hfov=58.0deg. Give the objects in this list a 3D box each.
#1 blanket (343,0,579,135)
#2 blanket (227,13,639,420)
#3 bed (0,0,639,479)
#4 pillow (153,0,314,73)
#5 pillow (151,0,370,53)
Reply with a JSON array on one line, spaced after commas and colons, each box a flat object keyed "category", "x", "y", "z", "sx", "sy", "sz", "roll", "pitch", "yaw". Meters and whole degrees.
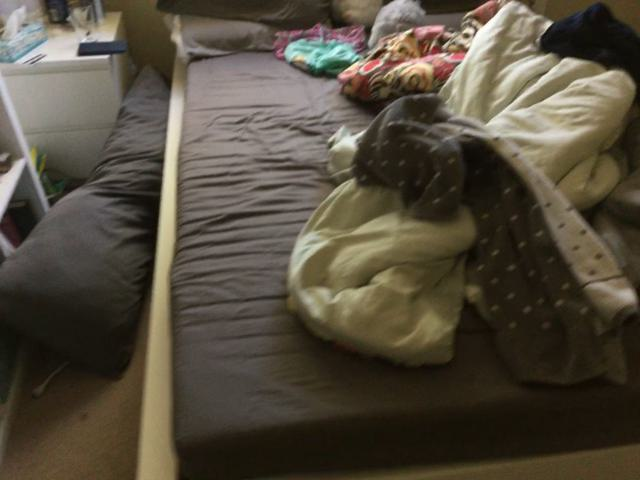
[{"category": "blanket", "x": 0.390, "y": -0.600, "z": 1.790, "sx": 0.560, "sy": 0.310, "sz": 0.440, "roll": -7, "pitch": 40, "yaw": -6}, {"category": "blanket", "x": 0.470, "y": -0.170, "z": 1.300, "sx": 1.280, "sy": 0.300, "sz": 0.900, "roll": -7, "pitch": 40, "yaw": -6}, {"category": "bed", "x": 0.360, "y": -0.360, "z": 1.680, "sx": 1.810, "sy": 1.050, "sz": 2.140, "roll": -7, "pitch": 40, "yaw": -6}, {"category": "pillow", "x": -0.330, "y": -0.850, "z": 2.230, "sx": 0.550, "sy": 0.190, "sz": 0.440, "roll": -7, "pitch": 40, "yaw": -6}, {"category": "pillow", "x": -0.230, "y": -1.010, "z": 2.170, "sx": 0.790, "sy": 0.440, "sz": 0.300, "roll": -7, "pitch": 40, "yaw": -6}]
